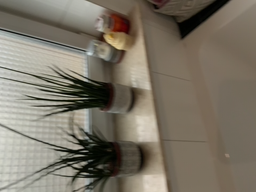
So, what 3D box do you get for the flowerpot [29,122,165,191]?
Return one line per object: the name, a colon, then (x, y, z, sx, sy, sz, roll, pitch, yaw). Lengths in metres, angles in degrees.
flowerpot: (-0.100, 0.220, 0.750, 0.180, 0.420, 0.190, -33, 56, 49)
